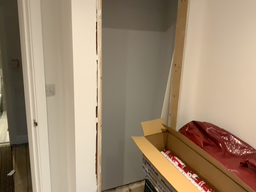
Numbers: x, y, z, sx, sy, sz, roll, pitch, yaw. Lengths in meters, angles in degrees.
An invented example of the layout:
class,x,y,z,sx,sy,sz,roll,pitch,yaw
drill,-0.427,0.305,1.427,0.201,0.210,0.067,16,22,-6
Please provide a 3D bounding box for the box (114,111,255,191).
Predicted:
class,x,y,z,sx,sy,sz,roll,pitch,yaw
box,0.280,0.450,1.260,0.370,0.410,1.000,-4,15,-25
